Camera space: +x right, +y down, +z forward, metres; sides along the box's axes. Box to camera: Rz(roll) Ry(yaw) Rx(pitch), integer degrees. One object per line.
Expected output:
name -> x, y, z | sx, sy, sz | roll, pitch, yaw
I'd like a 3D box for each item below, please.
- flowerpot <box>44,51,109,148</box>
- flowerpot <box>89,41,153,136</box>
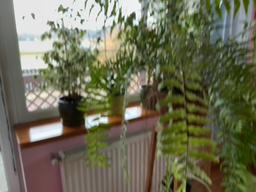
flowerpot -> -0.360, 0.000, 1.530 | 0.350, 0.610, 0.240 | -11, 19, -34
flowerpot -> -0.060, -0.090, 1.660 | 0.320, 0.640, 0.390 | -10, 19, -32
